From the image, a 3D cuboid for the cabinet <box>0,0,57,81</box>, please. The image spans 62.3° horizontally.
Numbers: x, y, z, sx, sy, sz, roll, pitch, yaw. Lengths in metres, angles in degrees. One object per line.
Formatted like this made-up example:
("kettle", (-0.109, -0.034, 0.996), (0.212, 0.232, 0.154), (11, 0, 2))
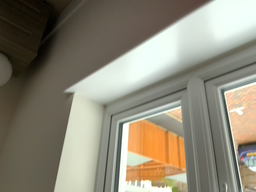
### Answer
("cabinet", (-0.900, -0.510, 1.610), (0.420, 0.530, 0.470), (28, 143, -37))
